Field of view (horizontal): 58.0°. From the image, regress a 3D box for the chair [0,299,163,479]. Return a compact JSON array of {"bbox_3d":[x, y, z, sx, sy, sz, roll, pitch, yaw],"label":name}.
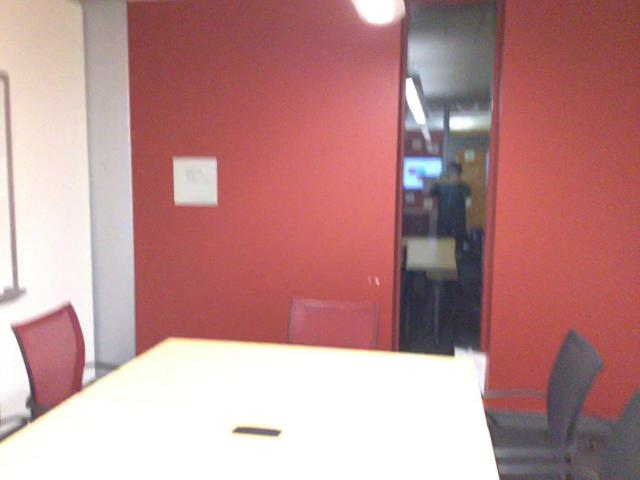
[{"bbox_3d":[-1.000,0.760,2.450,0.460,0.900,0.500,3,6,12],"label":"chair"}]
